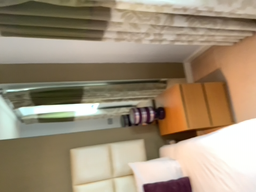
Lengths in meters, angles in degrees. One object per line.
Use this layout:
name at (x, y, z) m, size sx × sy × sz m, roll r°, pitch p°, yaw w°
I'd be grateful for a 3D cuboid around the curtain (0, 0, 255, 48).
curtain at (-0.010, -0.510, 1.390) m, size 0.550 × 2.120 × 0.110 m, roll 142°, pitch 123°, yaw -68°
